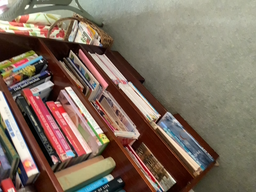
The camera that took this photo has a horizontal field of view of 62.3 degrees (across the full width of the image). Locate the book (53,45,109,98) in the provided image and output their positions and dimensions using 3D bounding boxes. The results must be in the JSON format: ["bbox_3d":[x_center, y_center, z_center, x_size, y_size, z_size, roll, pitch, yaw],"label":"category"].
[{"bbox_3d":[-0.250,-0.130,1.110,0.210,0.150,0.170,47,123,24],"label":"book"}]

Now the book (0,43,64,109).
[{"bbox_3d":[-0.420,-0.090,0.870,0.240,0.180,0.130,47,123,24],"label":"book"}]

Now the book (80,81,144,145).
[{"bbox_3d":[-0.080,0.070,0.990,0.220,0.140,0.170,48,123,24],"label":"book"}]

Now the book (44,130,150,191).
[{"bbox_3d":[-0.090,0.270,0.630,0.270,0.170,0.150,48,123,24],"label":"book"}]

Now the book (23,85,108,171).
[{"bbox_3d":[-0.230,0.100,0.760,0.240,0.160,0.150,48,123,24],"label":"book"}]

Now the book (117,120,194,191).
[{"bbox_3d":[0.110,0.250,0.880,0.200,0.170,0.180,48,123,24],"label":"book"}]
